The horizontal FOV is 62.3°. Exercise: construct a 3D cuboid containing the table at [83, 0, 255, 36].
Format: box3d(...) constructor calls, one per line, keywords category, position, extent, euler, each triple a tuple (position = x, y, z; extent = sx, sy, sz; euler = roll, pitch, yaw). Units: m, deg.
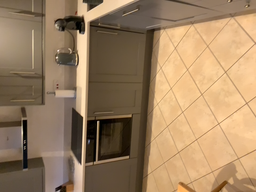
box3d(category="table", position=(0.320, -0.890, 1.700), extent=(1.730, 0.870, 0.590), euler=(21, 110, 60))
